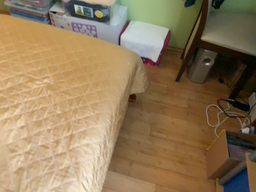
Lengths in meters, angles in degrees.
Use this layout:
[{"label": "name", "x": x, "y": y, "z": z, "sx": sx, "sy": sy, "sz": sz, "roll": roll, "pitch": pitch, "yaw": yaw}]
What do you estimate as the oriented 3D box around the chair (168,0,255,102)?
[{"label": "chair", "x": 0.700, "y": -0.480, "z": 1.420, "sx": 0.610, "sy": 0.940, "sz": 0.450, "roll": 13, "pitch": 52, "yaw": 6}]
